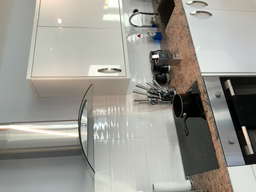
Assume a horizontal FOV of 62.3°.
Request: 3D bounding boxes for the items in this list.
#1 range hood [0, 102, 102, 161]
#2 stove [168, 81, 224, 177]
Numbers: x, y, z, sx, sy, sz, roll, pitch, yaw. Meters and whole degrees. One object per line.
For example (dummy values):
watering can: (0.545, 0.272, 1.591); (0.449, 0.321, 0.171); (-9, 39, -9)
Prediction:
range hood: (-0.650, 0.270, 1.600); (0.270, 0.880, 0.350); (109, 158, -63)
stove: (0.470, 0.280, 1.620); (0.550, 0.060, 0.600); (109, 158, -64)
